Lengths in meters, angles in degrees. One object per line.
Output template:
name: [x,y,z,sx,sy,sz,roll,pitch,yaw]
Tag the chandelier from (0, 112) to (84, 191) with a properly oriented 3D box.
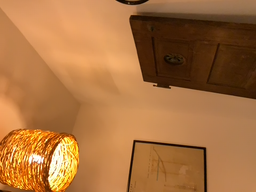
chandelier: [-0.560,0.350,1.130,0.340,0.500,0.370,-64,155,-58]
